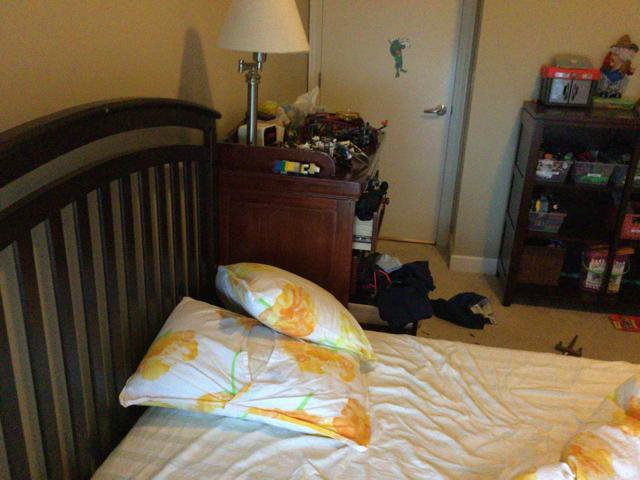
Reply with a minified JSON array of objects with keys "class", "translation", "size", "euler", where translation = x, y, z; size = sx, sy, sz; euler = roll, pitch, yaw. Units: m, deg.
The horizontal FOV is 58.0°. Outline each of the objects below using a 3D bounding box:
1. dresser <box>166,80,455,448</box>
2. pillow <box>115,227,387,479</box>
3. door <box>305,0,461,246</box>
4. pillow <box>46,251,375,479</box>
[{"class":"dresser","translation":[0.070,-0.030,2.400],"size":[0.860,1.110,1.130],"euler":[5,21,12]},{"class":"pillow","translation":[-0.160,0.300,1.790],"size":[0.660,0.490,0.540],"euler":[4,21,11]},{"class":"door","translation":[0.360,-0.880,3.480],"size":[0.870,1.830,0.180],"euler":[5,21,12]},{"class":"pillow","translation":[-0.240,0.300,1.550],"size":[0.700,0.330,0.490],"euler":[5,21,12]}]
